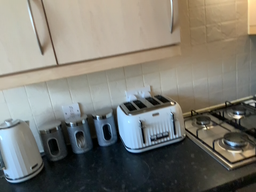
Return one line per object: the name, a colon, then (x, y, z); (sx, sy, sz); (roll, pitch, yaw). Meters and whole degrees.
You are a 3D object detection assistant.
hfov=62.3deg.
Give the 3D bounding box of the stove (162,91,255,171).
stove: (0.570, 0.120, 1.090); (0.600, 0.040, 0.560); (-13, 17, -12)
